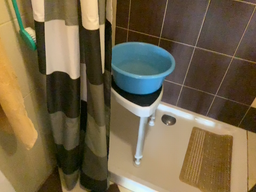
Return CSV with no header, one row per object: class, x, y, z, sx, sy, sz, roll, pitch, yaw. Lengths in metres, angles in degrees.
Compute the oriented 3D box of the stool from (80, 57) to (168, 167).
stool,-0.020,0.100,1.460,0.400,0.490,0.450,18,42,12
